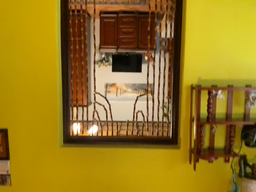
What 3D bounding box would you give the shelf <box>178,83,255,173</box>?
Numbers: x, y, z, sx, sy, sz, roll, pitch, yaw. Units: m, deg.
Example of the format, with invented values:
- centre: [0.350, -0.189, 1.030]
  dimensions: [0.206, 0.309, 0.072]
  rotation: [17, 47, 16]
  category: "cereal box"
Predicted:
- centre: [0.860, 0.220, 1.480]
  dimensions: [0.960, 0.590, 0.160]
  rotation: [1, -175, 1]
  category: "shelf"
